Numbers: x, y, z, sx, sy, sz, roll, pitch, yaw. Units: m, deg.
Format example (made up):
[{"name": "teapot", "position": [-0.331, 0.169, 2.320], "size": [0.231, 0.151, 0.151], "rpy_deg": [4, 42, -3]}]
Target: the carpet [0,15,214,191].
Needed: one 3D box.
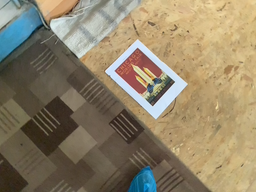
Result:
[{"name": "carpet", "position": [-0.210, 0.350, 0.810], "size": [1.290, 0.050, 0.700], "rpy_deg": [42, 79, 4]}]
